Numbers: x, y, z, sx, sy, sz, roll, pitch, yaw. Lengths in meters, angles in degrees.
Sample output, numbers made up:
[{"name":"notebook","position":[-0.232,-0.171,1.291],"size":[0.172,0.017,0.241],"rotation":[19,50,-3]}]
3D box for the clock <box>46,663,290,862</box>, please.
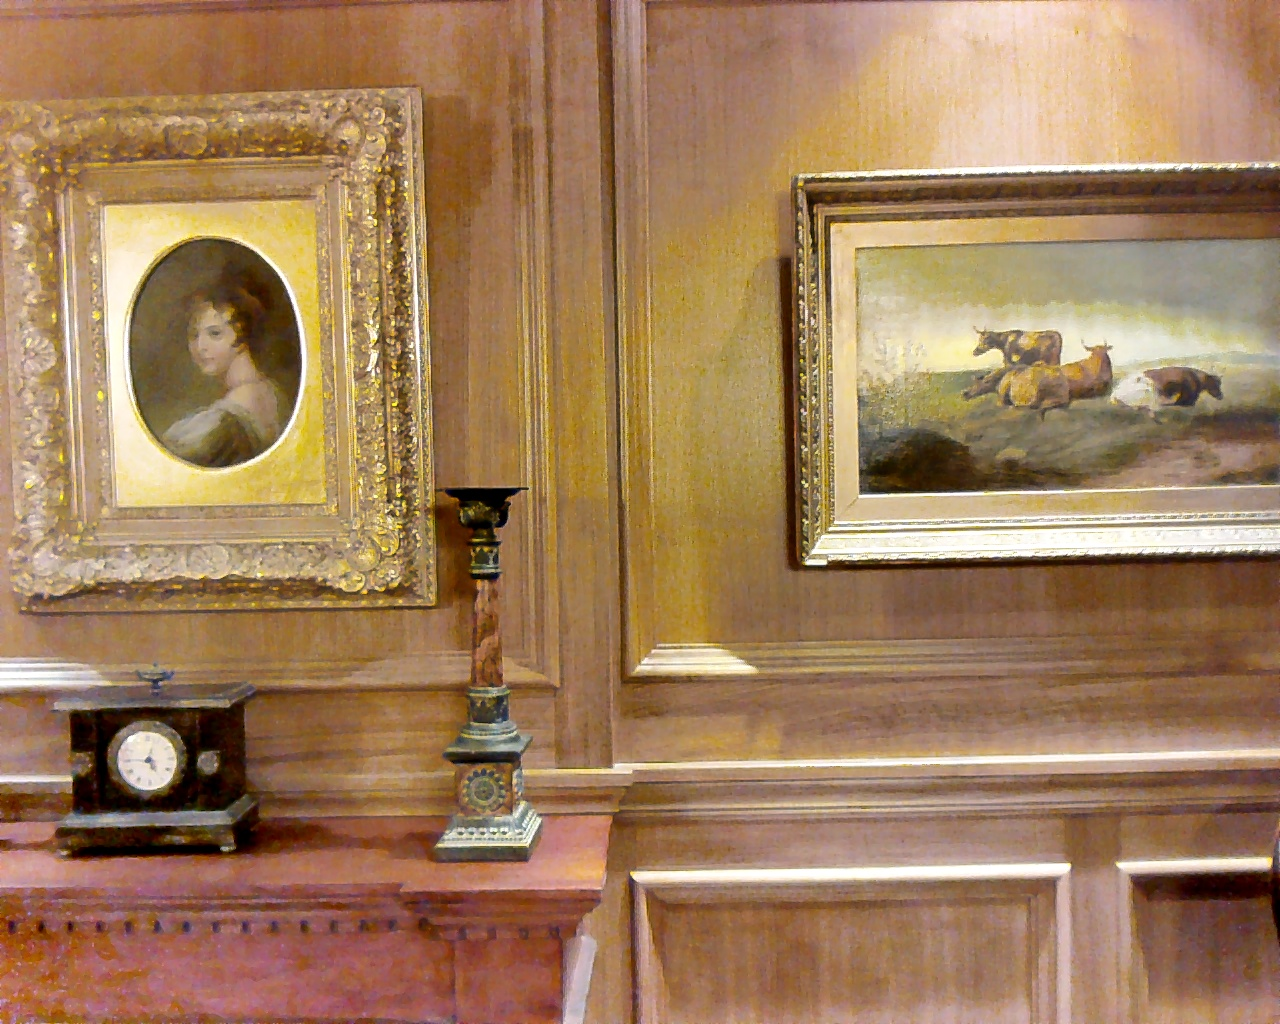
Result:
[{"name":"clock","position":[-0.570,0.300,1.320],"size":[0.220,0.200,0.170],"rotation":[-1,1,1]}]
